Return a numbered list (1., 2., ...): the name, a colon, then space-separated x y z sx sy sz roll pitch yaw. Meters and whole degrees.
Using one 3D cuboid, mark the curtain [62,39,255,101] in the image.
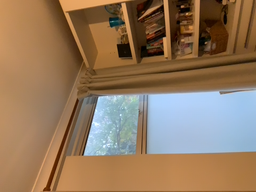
1. curtain: 0.710 -0.250 1.850 0.370 2.560 0.250 -83 -15 -46
